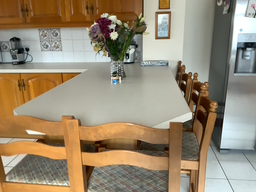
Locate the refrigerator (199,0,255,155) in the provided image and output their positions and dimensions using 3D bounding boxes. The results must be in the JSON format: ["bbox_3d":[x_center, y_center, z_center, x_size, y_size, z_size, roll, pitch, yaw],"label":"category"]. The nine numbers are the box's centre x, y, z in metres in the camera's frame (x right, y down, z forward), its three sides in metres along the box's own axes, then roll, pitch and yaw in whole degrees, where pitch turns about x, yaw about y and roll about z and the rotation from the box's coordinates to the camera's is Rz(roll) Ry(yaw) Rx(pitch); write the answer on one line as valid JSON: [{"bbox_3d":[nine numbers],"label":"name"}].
[{"bbox_3d":[1.400,-0.310,2.360,0.910,1.740,0.750,1,16,6],"label":"refrigerator"}]

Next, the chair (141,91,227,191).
[{"bbox_3d":[0.290,0.450,1.330,0.400,0.880,0.420,1,16,6],"label":"chair"}]
